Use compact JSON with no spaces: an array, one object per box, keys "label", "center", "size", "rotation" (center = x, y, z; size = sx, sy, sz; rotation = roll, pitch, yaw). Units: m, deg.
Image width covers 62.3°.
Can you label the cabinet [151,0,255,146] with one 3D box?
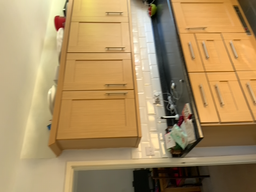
[{"label":"cabinet","center":[0.900,-0.610,2.520],"size":[0.590,0.920,2.230],"rotation":[96,171,-59]}]
